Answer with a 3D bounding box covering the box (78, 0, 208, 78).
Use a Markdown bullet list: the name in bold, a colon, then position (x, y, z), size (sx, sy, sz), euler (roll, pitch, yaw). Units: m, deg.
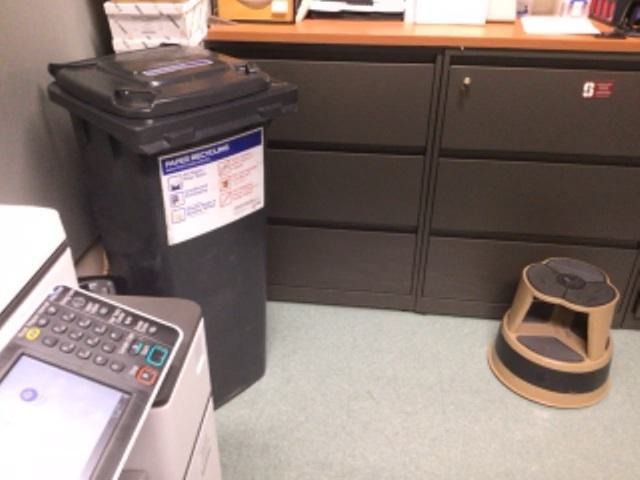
- **box**: position (-0.540, -0.640, 1.810), size (0.300, 0.210, 0.220), euler (2, 29, 7)
